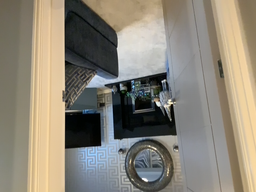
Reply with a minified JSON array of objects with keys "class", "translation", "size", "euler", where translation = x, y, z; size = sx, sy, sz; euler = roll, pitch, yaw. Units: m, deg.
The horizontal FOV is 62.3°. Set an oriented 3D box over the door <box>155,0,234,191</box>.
[{"class":"door","translation":[0.310,-0.030,1.220],"size":[0.040,2.000,0.820],"euler":[-3,168,-1]}]
